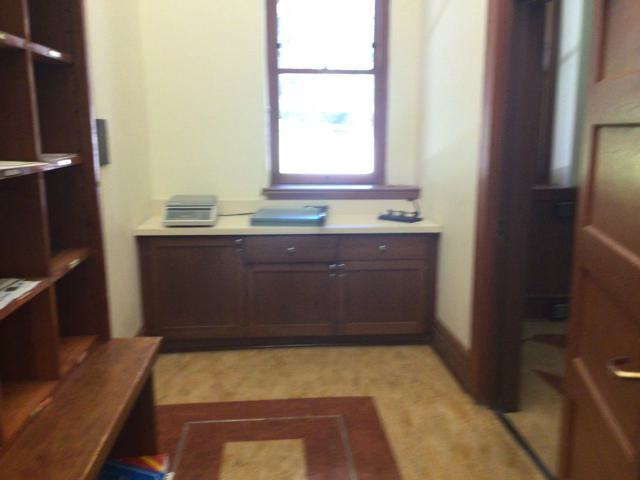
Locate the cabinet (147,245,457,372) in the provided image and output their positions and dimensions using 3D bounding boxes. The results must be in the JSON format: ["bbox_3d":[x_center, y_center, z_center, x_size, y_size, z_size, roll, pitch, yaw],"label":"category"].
[{"bbox_3d":[-0.100,0.430,3.720,1.920,0.780,0.160,0,10,-5],"label":"cabinet"}]
